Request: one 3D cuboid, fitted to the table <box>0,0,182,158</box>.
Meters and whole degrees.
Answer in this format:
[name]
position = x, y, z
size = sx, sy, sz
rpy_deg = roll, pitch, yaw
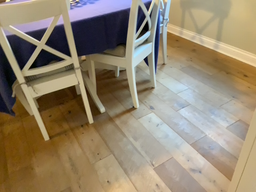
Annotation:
[table]
position = -0.510, -0.450, 1.830
size = 1.530, 0.740, 1.100
rpy_deg = -25, 41, -24
